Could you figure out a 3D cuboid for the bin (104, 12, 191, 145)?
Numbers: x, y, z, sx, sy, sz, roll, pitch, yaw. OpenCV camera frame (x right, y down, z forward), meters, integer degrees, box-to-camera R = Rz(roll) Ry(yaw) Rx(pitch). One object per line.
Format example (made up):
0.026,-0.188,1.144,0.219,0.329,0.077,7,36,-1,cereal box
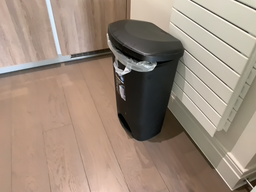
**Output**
0.070,-0.080,1.230,0.300,0.650,0.330,-15,45,-18,bin
